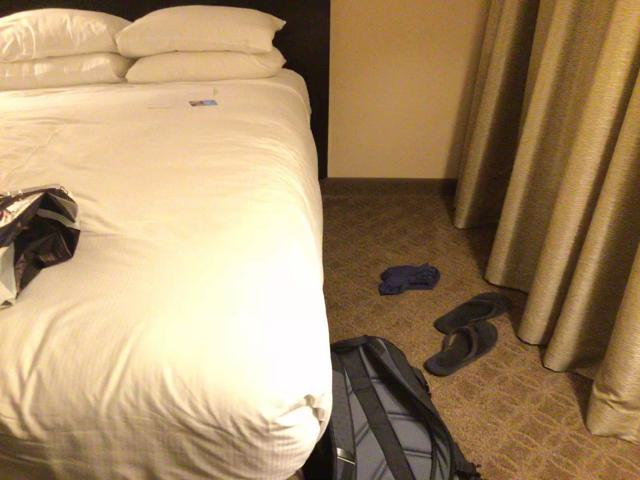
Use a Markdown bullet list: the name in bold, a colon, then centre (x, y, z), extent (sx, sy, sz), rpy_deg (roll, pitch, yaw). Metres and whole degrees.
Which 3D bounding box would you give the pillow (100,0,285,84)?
- **pillow**: centre (-0.470, -0.800, 2.270), extent (0.630, 0.220, 0.400), rpy_deg (5, 28, -2)

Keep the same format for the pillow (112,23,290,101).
- **pillow**: centre (-0.440, -0.690, 2.230), extent (0.620, 0.180, 0.270), rpy_deg (5, 28, -2)

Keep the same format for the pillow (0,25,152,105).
- **pillow**: centre (-1.060, -0.710, 2.310), extent (0.660, 0.170, 0.400), rpy_deg (5, 28, -2)

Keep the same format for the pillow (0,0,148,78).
- **pillow**: centre (-1.040, -0.810, 2.270), extent (0.620, 0.200, 0.370), rpy_deg (5, 28, -2)
